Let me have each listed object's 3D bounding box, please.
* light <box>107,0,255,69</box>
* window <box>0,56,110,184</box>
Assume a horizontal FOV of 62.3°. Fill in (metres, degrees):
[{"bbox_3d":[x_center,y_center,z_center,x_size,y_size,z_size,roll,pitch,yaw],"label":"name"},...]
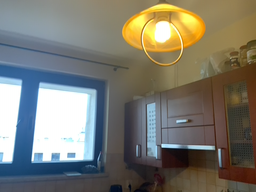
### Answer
[{"bbox_3d":[0.150,-0.520,0.940,0.400,0.370,0.630,128,141,-49],"label":"light"},{"bbox_3d":[-1.080,0.270,2.350,0.290,1.720,1.250,-21,65,61],"label":"window"}]
